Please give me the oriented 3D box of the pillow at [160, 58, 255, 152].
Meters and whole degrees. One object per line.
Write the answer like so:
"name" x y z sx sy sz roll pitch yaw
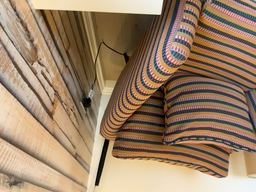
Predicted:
"pillow" 0.370 0.030 0.990 0.430 0.290 0.090 28 129 -8

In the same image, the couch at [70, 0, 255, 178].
"couch" 0.300 -0.070 1.120 0.910 0.770 0.820 15 150 -19
